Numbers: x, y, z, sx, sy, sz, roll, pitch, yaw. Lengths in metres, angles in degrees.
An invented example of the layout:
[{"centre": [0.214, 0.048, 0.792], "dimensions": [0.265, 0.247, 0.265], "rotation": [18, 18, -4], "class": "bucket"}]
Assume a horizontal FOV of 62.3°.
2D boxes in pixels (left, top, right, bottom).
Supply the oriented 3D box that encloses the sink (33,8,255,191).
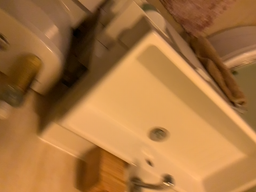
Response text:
[{"centre": [0.120, 0.130, 0.640], "dimensions": [0.610, 0.130, 0.410], "rotation": [38, 115, -26], "class": "sink"}]
